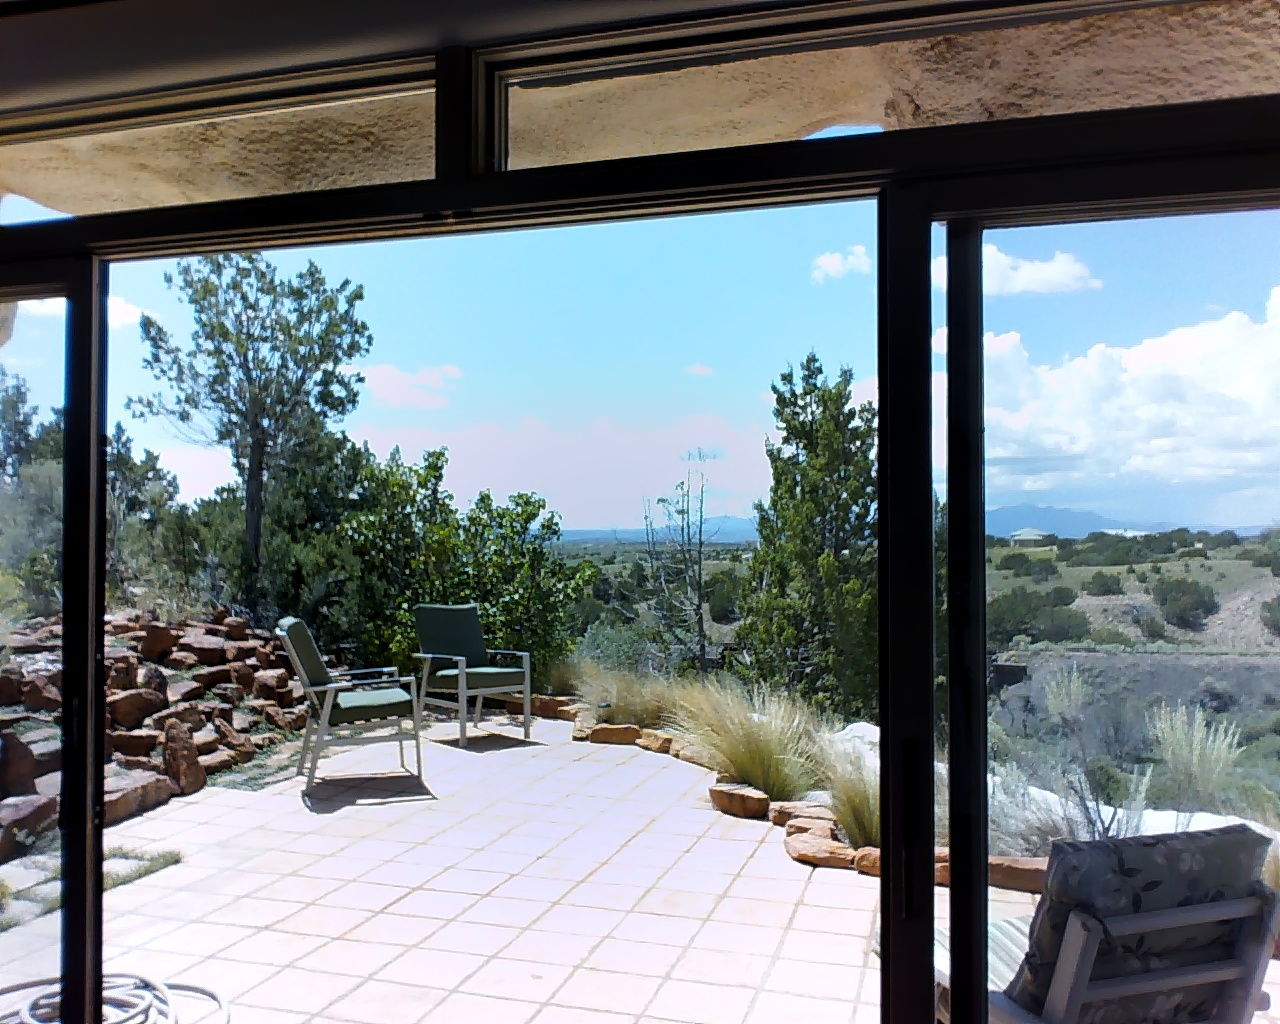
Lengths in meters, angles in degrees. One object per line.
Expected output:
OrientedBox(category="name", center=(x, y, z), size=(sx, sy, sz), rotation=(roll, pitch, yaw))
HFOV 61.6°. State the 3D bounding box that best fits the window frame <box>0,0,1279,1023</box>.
OrientedBox(category="window frame", center=(-0.180, 0.260, 1.870), size=(4.039, 2.421, 0.370), rotation=(-1, -1, 17))
